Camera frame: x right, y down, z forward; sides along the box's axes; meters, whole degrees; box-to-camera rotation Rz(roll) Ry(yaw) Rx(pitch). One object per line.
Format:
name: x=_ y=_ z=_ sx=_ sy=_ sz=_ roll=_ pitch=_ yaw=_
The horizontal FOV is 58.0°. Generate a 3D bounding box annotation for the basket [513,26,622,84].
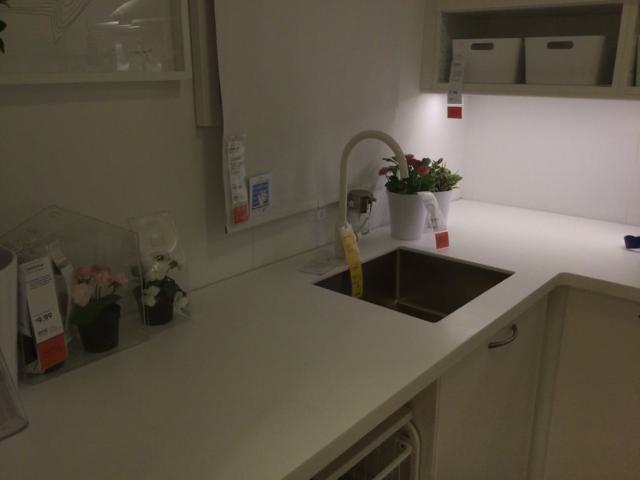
basket: x=0.740 y=-0.550 z=1.740 sx=0.130 sy=0.130 sz=0.270 roll=-15 pitch=16 yaw=-40

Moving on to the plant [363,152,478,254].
plant: x=0.320 y=-0.130 z=1.850 sx=0.200 sy=0.280 sz=0.290 roll=-15 pitch=16 yaw=-40

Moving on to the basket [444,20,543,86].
basket: x=0.570 y=-0.610 z=1.910 sx=0.170 sy=0.170 sz=0.260 roll=-15 pitch=16 yaw=-40

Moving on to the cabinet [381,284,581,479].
cabinet: x=0.450 y=0.600 z=1.480 sx=0.660 sy=0.820 sz=0.130 roll=-15 pitch=16 yaw=-40
